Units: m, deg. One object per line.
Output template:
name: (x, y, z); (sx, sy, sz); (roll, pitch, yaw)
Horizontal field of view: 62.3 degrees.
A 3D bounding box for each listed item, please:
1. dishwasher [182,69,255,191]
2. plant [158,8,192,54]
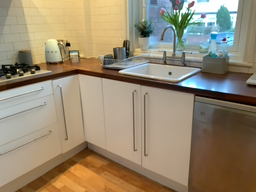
dishwasher: (0.810, 0.360, 1.450); (0.630, 0.920, 0.600); (13, 24, 37)
plant: (0.440, -0.610, 2.000); (0.210, 0.380, 0.240); (14, 24, 38)
